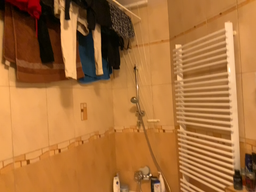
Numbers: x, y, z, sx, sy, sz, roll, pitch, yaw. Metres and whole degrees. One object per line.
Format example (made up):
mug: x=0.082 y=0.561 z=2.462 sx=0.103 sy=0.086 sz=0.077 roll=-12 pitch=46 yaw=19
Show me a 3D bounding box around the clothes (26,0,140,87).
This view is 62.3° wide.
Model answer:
clothes: x=-0.450 y=-0.510 z=2.280 sx=0.980 sy=0.740 sz=0.610 roll=-4 pitch=0 yaw=19
